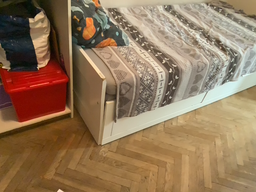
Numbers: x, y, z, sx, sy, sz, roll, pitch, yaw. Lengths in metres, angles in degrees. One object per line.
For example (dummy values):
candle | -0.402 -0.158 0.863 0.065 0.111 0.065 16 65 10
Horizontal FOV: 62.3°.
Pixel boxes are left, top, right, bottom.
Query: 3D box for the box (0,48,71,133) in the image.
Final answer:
box | -0.630 -0.050 1.450 0.360 0.380 0.340 -16 48 -29
